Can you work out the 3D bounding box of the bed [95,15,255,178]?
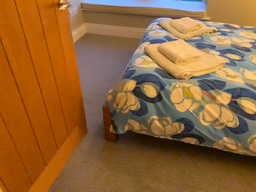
[{"bbox_3d":[1.070,-0.140,1.850,2.200,0.520,1.640,8,37,11],"label":"bed"}]
